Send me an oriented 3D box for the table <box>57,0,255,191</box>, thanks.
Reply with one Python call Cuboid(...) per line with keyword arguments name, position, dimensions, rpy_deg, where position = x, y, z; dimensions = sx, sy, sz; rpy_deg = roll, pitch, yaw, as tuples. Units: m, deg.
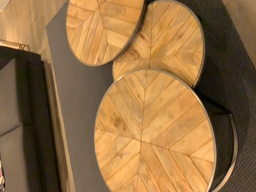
Cuboid(name="table", position=(0.070, -0.210, 1.550), dimensions=(1.030, 0.380, 1.960), rpy_deg=(-30, 68, 37))
